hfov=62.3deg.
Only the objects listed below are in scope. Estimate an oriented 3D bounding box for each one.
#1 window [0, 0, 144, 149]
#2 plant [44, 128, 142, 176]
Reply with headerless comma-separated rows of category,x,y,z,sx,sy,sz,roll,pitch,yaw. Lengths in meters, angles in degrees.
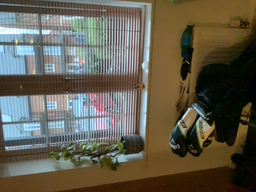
window,-0.410,-0.150,1.560,0.100,1.050,1.000,-142,51,-69
plant,-0.250,0.400,1.580,0.180,0.680,0.210,-143,52,-70
